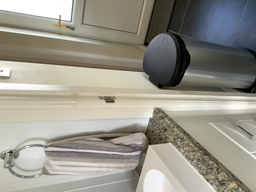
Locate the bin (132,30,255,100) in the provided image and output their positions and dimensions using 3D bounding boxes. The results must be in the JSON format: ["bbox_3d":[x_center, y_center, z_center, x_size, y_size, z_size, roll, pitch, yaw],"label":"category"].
[{"bbox_3d":[0.430,-0.180,1.300,0.340,0.690,0.290,41,124,55],"label":"bin"}]
